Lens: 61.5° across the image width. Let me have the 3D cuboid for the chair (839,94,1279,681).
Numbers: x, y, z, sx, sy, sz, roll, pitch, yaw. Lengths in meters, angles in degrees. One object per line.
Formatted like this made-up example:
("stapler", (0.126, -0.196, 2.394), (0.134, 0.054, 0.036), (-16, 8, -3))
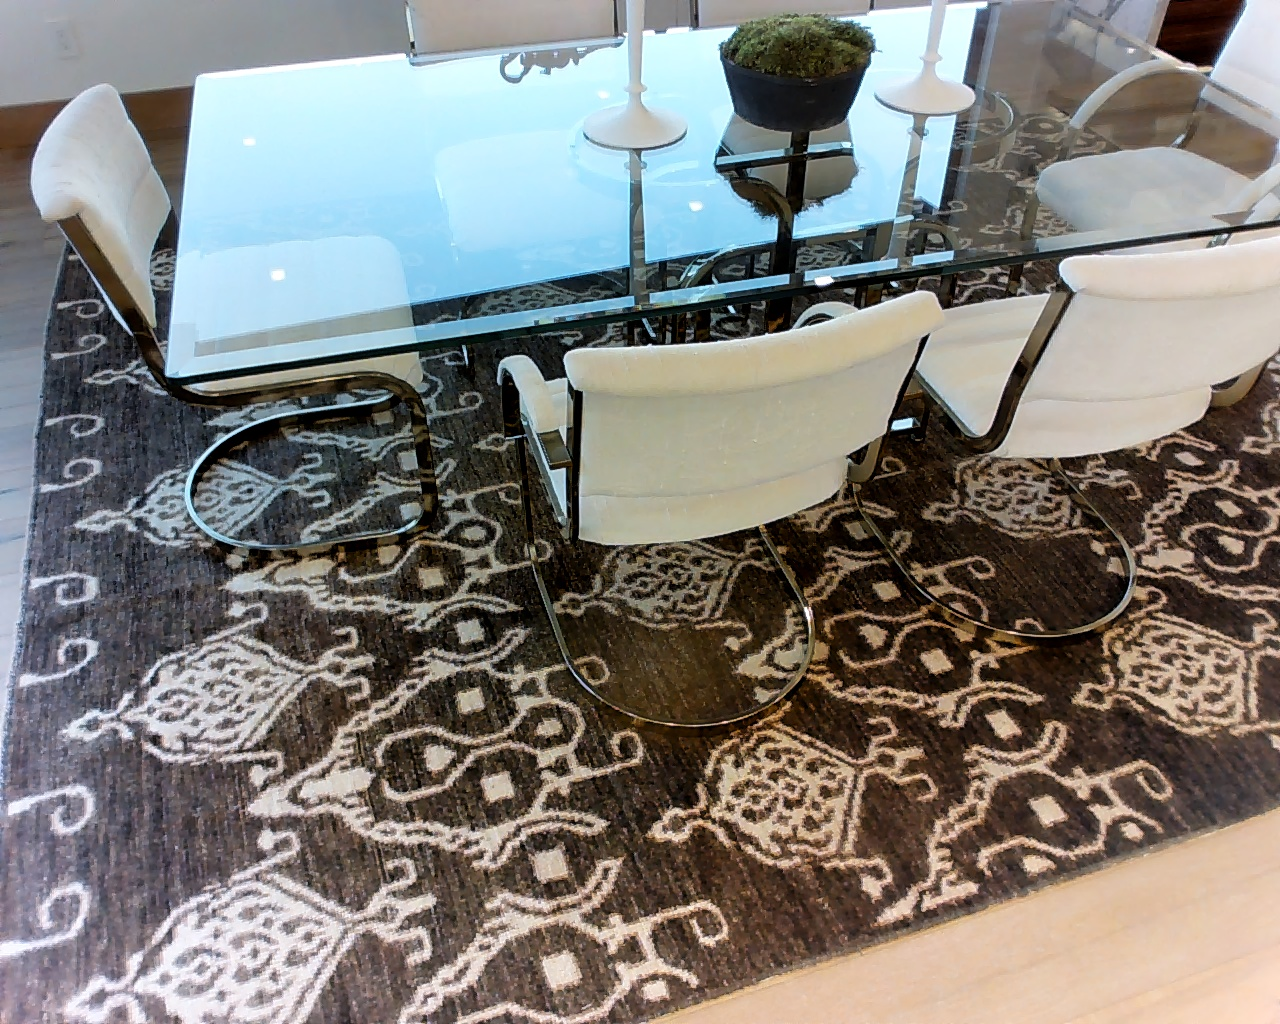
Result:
("chair", (0.790, -0.230, 1.990), (0.530, 0.820, 0.580), (-12, 43, -14))

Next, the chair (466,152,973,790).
("chair", (0.080, -0.070, 1.830), (0.570, 0.820, 0.570), (-12, 43, -14))

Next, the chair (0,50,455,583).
("chair", (-0.770, -0.390, 2.150), (0.620, 0.810, 0.530), (-12, 43, -14))

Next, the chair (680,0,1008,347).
("chair", (0.480, -1.010, 2.860), (0.570, 0.840, 0.620), (-13, 43, -12))

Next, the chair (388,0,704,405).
("chair", (-0.240, -0.830, 2.670), (0.590, 0.840, 0.620), (-11, 43, -13))
